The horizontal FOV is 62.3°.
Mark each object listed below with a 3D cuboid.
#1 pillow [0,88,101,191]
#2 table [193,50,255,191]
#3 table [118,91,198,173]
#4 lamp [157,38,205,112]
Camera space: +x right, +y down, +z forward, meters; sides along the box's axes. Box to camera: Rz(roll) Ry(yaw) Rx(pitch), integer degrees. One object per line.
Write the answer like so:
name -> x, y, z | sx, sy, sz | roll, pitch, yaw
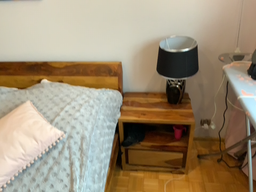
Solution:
pillow -> -0.530, 0.190, 1.300 | 0.530, 0.110, 0.740 | 4, 31, 9
table -> 0.730, 0.420, 1.220 | 0.370, 0.970, 1.310 | 2, 31, 6
table -> 0.240, 0.300, 1.850 | 0.580, 0.540, 0.410 | 2, 31, 6
lamp -> 0.370, -0.160, 1.600 | 0.260, 0.470, 0.290 | 1, 31, 3
